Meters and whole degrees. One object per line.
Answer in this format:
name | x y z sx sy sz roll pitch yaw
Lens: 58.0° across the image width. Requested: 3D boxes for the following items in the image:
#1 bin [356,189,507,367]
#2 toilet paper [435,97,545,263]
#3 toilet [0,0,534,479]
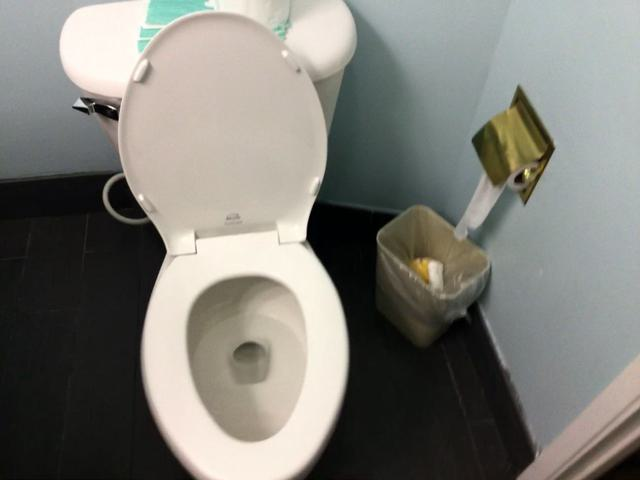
bin | 0.240 0.090 1.360 0.230 0.270 0.290 -7 52 -8
toilet paper | 0.320 -0.110 1.140 0.090 0.290 0.160 -7 52 -8
toilet | -0.140 0.050 1.040 0.510 0.840 0.760 -7 52 -8
